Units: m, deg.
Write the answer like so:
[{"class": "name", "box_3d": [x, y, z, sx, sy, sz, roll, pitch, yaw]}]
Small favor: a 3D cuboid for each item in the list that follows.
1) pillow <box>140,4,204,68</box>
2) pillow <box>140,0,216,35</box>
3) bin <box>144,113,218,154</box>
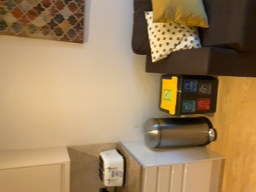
[{"class": "pillow", "box_3d": [0.350, -0.510, 1.810, 0.230, 0.330, 0.510, 116, 147, -48]}, {"class": "pillow", "box_3d": [0.350, -0.810, 1.750, 0.210, 0.420, 0.640, 115, 148, -47]}, {"class": "bin", "box_3d": [0.540, 0.370, 2.220, 0.360, 0.640, 0.300, -161, 73, -68]}]
